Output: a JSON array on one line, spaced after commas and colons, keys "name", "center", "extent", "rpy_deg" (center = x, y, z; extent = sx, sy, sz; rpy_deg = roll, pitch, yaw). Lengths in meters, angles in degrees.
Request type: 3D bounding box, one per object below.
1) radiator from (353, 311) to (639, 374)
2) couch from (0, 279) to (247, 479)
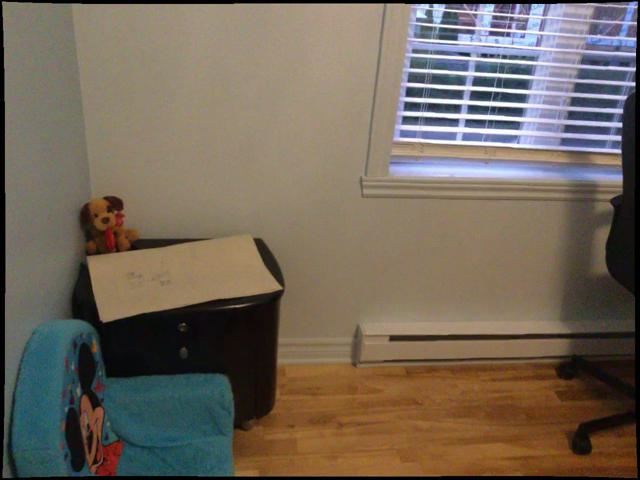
[{"name": "radiator", "center": [0.769, 0.370, 2.130], "extent": [1.289, 0.170, 0.090], "rpy_deg": [0, 28, -9]}, {"name": "couch", "center": [-0.410, 0.460, 1.350], "extent": [0.450, 0.550, 0.500], "rpy_deg": [0, 28, -9]}]
